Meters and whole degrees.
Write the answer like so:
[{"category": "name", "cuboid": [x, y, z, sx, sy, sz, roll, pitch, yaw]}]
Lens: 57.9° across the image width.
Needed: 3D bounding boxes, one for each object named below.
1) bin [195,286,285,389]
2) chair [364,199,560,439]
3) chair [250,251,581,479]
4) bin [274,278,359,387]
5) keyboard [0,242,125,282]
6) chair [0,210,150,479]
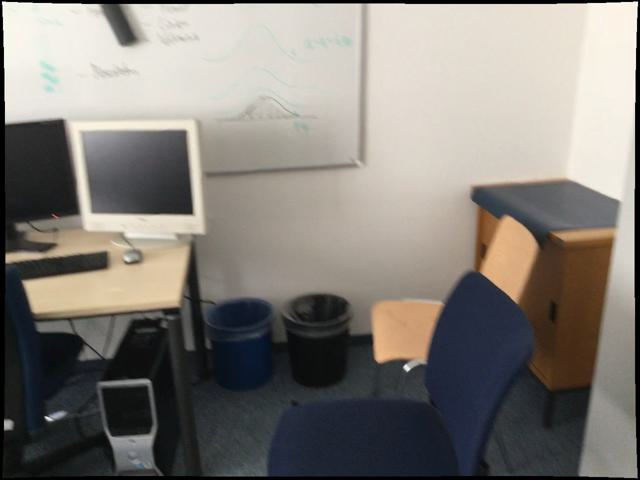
[{"category": "bin", "cuboid": [-0.340, 0.410, 2.500, 0.340, 0.300, 0.300, -4, 21, -6]}, {"category": "chair", "cuboid": [0.450, 0.260, 2.070, 0.569, 0.691, 0.490, -1, 21, 4]}, {"category": "chair", "cuboid": [0.170, 0.501, 1.430, 0.619, 0.771, 0.500, -4, 21, -6]}, {"category": "bin", "cuboid": [-0.020, 0.390, 2.510, 0.320, 0.310, 0.340, -4, 21, -6]}, {"category": "keyboard", "cuboid": [-0.849, 0.070, 1.910, 0.360, 0.040, 0.180, -4, 21, -6]}, {"category": "chair", "cuboid": [-0.999, 0.430, 1.740, 0.659, 0.911, 0.570, 0, 21, 6]}]
